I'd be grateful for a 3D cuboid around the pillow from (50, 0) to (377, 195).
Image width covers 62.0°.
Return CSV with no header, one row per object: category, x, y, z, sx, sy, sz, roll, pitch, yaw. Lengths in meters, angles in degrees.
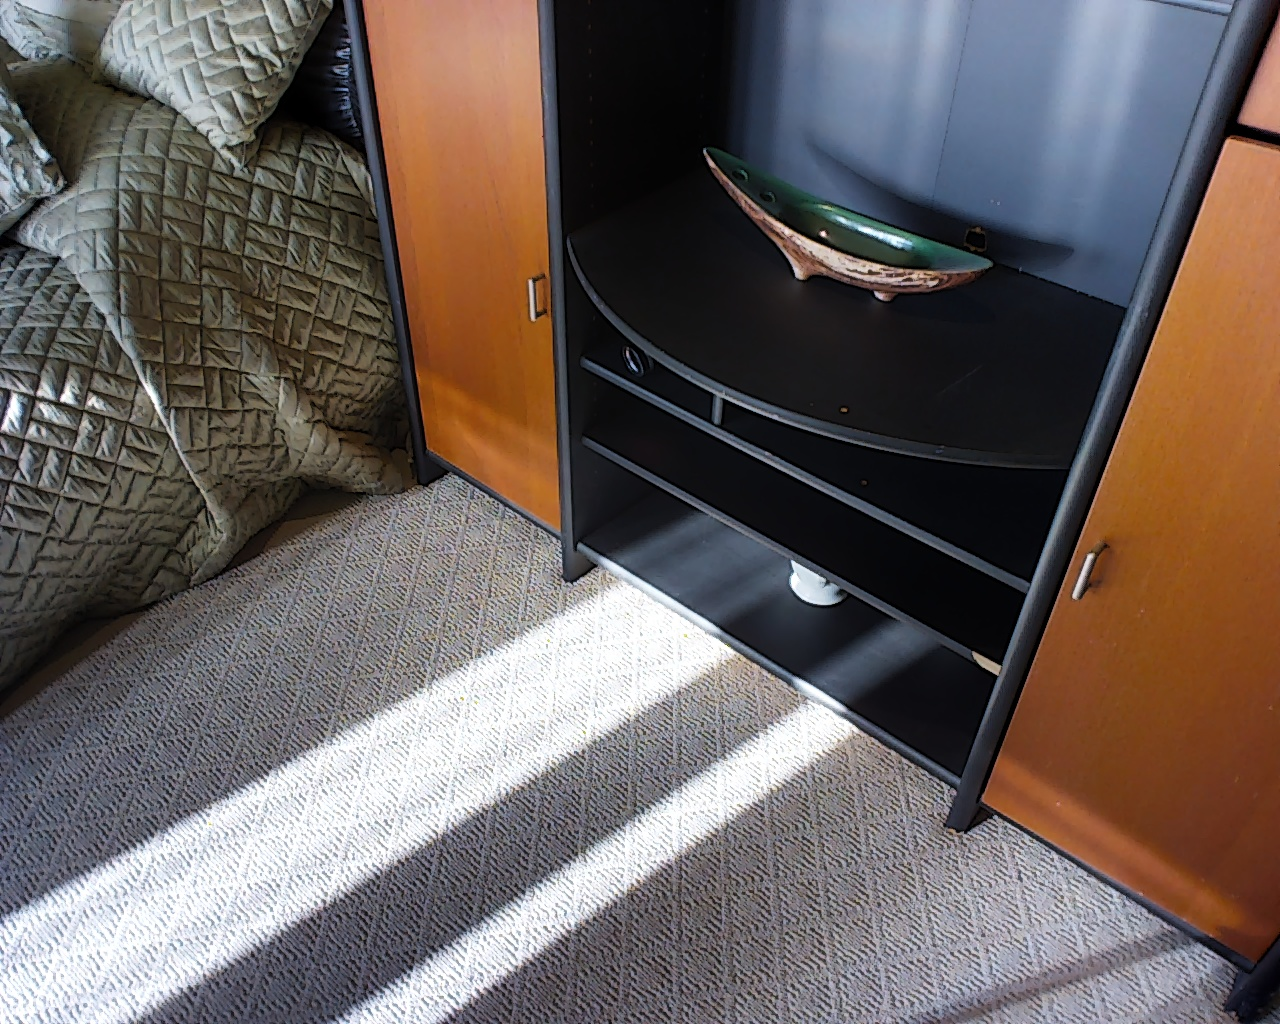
pillow,-0.780,-0.880,1.890,0.540,0.410,0.280,30,49,30
